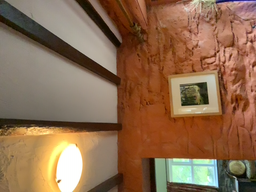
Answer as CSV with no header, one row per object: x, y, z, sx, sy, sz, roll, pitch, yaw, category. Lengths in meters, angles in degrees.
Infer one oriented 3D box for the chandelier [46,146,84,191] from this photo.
-0.320,0.370,1.110,0.200,0.080,0.210,40,48,-69,chandelier
